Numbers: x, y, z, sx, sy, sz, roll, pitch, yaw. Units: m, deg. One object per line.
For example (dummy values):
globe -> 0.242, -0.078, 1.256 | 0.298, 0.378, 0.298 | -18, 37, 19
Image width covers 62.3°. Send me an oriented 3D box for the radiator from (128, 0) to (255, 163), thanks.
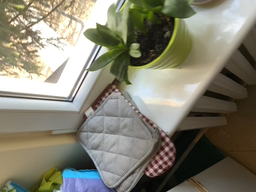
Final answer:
radiator -> 0.370, -0.020, 0.840 | 0.160, 0.630, 0.500 | 47, 112, 30
